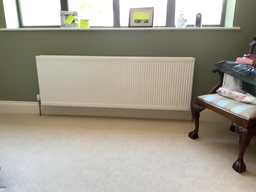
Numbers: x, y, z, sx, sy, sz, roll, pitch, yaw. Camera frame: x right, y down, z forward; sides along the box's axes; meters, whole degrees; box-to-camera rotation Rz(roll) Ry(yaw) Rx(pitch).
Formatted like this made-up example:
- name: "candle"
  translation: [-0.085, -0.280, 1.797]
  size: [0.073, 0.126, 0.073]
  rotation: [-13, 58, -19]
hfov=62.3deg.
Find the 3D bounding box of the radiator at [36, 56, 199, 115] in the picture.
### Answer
- name: "radiator"
  translation: [-0.140, -0.130, 2.470]
  size: [1.800, 0.620, 0.120]
  rotation: [2, 17, 4]
